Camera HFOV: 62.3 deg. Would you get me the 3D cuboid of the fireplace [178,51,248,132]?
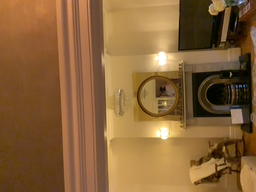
[{"bbox_3d":[1.730,-0.090,4.460,0.710,1.200,1.540,-23,-68,-83],"label":"fireplace"}]
